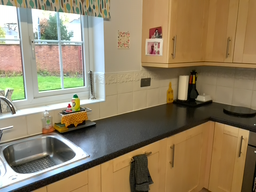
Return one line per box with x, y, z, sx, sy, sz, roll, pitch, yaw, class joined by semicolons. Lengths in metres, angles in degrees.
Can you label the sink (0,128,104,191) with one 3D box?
-0.510;0.420;1.350;0.490;0.190;0.530;-9;16;-42;sink
